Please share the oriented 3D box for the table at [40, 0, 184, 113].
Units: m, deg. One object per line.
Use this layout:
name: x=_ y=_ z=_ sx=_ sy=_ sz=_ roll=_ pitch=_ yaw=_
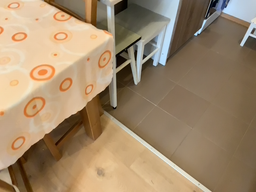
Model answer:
table: x=-0.090 y=-0.500 z=1.480 sx=0.610 sy=0.840 sz=0.680 roll=35 pitch=57 yaw=22
